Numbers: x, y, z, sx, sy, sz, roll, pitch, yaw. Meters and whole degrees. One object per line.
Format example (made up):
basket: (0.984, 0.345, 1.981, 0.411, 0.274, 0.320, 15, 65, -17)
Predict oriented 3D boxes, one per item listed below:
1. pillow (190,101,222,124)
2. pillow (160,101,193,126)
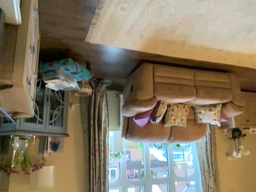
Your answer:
pillow: (1.180, 0.260, 3.210, 0.400, 0.270, 0.390, -6, 166, 20)
pillow: (0.730, 0.260, 3.190, 0.410, 0.320, 0.190, 5, -169, -27)
